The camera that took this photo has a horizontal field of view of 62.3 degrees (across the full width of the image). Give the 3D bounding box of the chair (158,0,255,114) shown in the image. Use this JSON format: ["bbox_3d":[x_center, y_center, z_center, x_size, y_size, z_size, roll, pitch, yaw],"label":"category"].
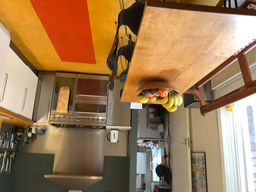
[{"bbox_3d":[0.730,-0.430,1.710,0.550,0.850,1.800,3,166,-5],"label":"chair"}]

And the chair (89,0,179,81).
[{"bbox_3d":[0.030,-0.550,1.500,0.510,0.760,0.440,3,166,-4],"label":"chair"}]
